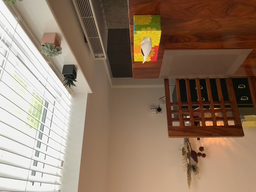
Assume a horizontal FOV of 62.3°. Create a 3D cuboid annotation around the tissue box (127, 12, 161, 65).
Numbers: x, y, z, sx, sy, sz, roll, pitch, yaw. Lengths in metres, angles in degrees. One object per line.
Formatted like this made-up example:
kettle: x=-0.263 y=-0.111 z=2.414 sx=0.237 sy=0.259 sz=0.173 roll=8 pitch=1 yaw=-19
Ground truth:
tissue box: x=0.070 y=-0.260 z=1.000 sx=0.140 sy=0.090 sz=0.260 roll=-1 pitch=155 yaw=2
